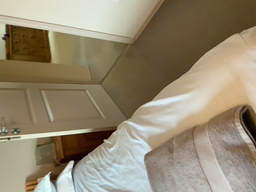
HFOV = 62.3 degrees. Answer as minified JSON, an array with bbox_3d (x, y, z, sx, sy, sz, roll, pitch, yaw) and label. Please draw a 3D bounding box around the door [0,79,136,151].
[{"bbox_3d":[-1.060,0.100,1.750,0.900,2.120,0.180,40,122,50],"label":"door"}]
